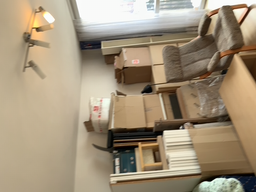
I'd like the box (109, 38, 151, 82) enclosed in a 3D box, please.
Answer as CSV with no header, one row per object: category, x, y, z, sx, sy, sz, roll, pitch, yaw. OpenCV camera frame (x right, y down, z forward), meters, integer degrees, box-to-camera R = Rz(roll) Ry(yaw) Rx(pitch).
box,0.030,-0.690,4.120,0.530,0.730,0.580,87,178,-54

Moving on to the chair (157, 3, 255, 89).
chair,1.000,-0.640,2.880,0.790,1.020,0.750,88,177,-68

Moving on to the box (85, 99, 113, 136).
box,-0.460,0.360,3.470,0.440,0.390,0.390,87,178,-50
